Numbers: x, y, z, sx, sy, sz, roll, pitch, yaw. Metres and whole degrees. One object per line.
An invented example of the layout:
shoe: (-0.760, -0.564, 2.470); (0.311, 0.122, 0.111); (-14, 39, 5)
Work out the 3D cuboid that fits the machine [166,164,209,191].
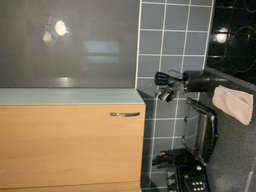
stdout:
machine: (0.410, 0.640, 1.490); (0.270, 0.180, 0.280); (122, 146, -72)
